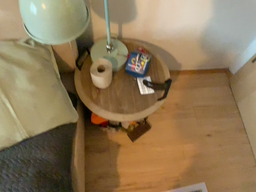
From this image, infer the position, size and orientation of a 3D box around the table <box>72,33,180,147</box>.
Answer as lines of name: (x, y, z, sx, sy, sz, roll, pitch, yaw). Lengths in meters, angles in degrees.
table: (-0.050, -0.020, 1.180, 0.460, 0.420, 0.470, -3, 65, -8)
